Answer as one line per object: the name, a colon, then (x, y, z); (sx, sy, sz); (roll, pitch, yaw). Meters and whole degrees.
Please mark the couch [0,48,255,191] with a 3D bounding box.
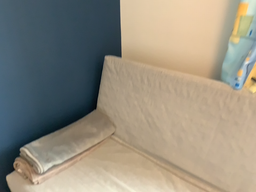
couch: (0.280, 0.450, 1.040); (2.030, 0.850, 1.060); (19, 33, 33)
